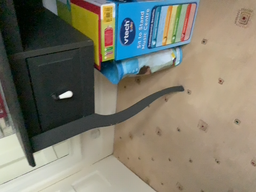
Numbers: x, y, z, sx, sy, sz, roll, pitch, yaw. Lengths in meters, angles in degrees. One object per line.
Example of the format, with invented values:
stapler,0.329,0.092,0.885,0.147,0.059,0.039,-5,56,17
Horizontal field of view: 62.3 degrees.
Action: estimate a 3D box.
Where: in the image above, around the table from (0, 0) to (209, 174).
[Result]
table,-0.160,-0.520,0.680,0.580,0.740,1.260,41,138,40
